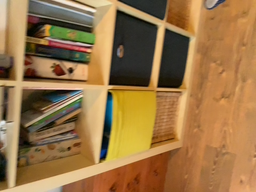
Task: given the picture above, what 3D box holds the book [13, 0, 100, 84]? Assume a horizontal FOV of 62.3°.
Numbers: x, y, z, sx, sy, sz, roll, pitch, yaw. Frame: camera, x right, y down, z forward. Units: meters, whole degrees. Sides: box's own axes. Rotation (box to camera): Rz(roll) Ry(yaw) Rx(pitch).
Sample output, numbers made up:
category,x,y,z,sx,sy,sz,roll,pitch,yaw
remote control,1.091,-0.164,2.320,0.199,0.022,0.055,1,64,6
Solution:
category,x,y,z,sx,sy,sz,roll,pitch,yaw
book,-0.300,-0.250,0.900,0.170,0.270,0.360,14,99,43
